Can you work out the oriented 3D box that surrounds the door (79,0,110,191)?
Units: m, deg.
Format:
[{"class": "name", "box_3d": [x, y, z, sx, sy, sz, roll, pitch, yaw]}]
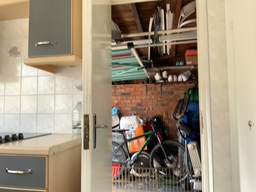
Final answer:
[{"class": "door", "box_3d": [-0.180, 0.100, 1.260, 0.080, 2.070, 0.620, -1, -3, 0]}]
